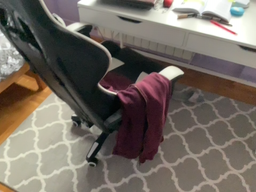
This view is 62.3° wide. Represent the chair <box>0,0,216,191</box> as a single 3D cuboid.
[{"bbox_3d":[-0.140,-0.150,1.090,0.700,1.200,0.720,33,53,25],"label":"chair"}]
